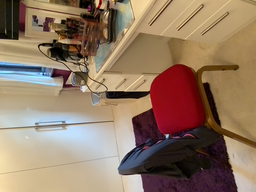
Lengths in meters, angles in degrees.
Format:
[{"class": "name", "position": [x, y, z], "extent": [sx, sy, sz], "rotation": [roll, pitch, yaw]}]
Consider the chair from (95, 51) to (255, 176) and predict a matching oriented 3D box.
[{"class": "chair", "position": [0.290, 0.120, 1.350], "extent": [0.460, 0.830, 0.580], "rotation": [-33, 62, 57]}]
